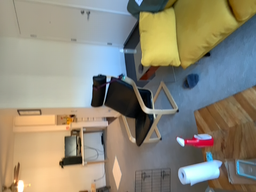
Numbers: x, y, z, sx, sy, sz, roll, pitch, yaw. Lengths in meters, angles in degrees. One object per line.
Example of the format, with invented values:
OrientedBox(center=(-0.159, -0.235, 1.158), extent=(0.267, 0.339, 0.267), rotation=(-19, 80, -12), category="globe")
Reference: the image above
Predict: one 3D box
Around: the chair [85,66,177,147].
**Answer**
OrientedBox(center=(-0.030, 0.140, 3.010), extent=(0.850, 0.980, 0.680), rotation=(-109, 29, -43), category="chair")
